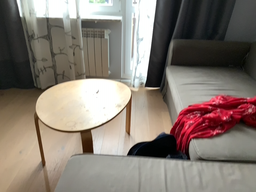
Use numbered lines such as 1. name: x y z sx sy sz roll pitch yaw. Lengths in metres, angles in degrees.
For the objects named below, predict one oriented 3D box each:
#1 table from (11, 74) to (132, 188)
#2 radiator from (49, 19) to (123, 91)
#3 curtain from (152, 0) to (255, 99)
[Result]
1. table: -0.320 0.210 1.630 0.670 0.470 0.740 3 29 1
2. radiator: -0.470 -0.470 2.550 0.800 0.810 0.160 2 29 0
3. curtain: 0.830 -1.130 2.140 0.940 2.510 0.190 3 29 0
